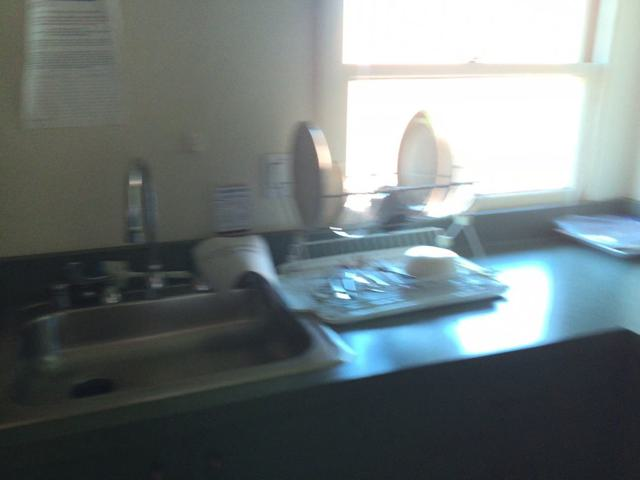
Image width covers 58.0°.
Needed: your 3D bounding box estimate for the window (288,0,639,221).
[{"bbox_3d":[0.410,-0.390,1.630,0.980,0.600,0.190,-4,13,-18],"label":"window"}]
